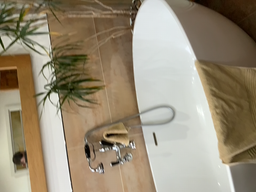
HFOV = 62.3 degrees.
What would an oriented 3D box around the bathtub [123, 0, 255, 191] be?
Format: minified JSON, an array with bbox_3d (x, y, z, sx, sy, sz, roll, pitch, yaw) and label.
[{"bbox_3d":[0.520,0.230,1.310,0.830,0.570,1.810,148,113,-69],"label":"bathtub"}]
